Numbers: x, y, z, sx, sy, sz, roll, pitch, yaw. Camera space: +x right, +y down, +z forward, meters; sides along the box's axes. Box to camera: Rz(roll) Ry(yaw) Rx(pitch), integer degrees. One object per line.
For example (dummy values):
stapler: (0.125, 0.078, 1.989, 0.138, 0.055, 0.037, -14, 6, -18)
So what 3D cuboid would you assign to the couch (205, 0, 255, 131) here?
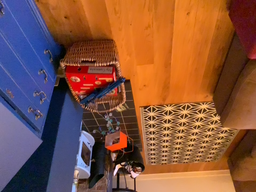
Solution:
couch: (0.920, -0.220, 1.460, 0.480, 0.430, 1.100, -6, 144, 4)
